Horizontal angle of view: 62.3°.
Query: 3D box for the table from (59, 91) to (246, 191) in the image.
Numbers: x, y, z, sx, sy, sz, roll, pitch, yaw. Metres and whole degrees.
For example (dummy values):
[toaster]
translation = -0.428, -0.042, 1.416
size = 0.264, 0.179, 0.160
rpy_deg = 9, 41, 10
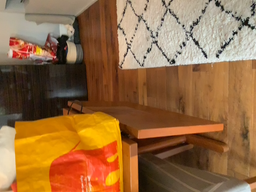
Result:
[table]
translation = 0.090, 0.910, 1.410
size = 0.910, 0.730, 1.770
rpy_deg = 9, 103, 57
